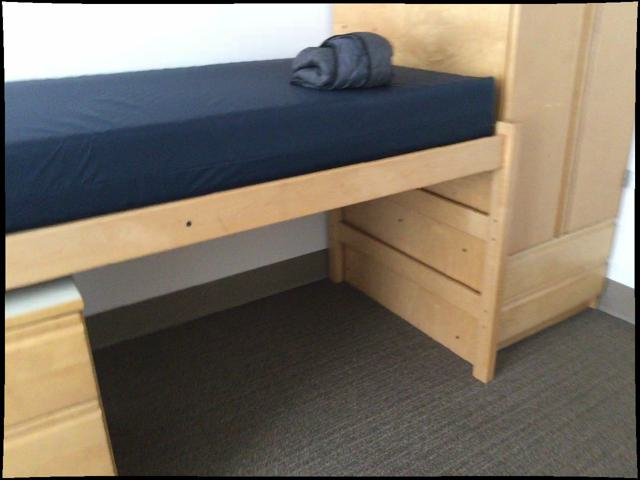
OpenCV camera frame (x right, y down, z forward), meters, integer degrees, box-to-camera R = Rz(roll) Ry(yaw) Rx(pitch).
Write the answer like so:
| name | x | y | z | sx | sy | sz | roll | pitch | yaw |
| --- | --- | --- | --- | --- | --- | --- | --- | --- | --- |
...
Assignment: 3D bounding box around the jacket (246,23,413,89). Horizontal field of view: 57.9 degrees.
| name | x | y | z | sx | sy | sz | roll | pitch | yaw |
| --- | --- | --- | --- | --- | --- | --- | --- | --- | --- |
| jacket | 0.010 | -0.551 | 1.690 | 0.240 | 0.130 | 0.500 | -16 | 27 | -30 |
